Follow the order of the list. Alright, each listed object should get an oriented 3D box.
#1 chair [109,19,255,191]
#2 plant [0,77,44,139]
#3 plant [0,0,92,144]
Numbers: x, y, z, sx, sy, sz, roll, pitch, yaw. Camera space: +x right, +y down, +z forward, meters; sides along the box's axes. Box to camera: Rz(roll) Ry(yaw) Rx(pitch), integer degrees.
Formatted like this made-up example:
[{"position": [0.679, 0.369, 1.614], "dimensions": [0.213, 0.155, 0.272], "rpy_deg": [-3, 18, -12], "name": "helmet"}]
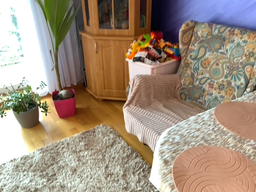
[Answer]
[{"position": [0.500, 0.000, 1.750], "dimensions": [1.020, 1.000, 0.760], "rpy_deg": [-20, 35, -30], "name": "chair"}, {"position": [-1.130, 0.100, 2.210], "dimensions": [0.390, 0.360, 0.540], "rpy_deg": [-8, 31, -13], "name": "plant"}, {"position": [-0.820, -0.430, 2.000], "dimensions": [0.770, 1.510, 0.770], "rpy_deg": [-6, 30, -10], "name": "plant"}]
